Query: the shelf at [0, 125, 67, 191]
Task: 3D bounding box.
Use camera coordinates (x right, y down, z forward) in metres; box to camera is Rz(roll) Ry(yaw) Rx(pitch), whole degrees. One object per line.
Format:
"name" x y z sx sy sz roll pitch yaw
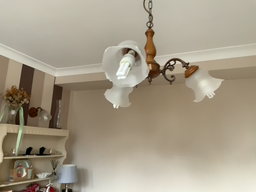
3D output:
"shelf" -1.120 0.800 2.430 0.170 0.870 0.920 -3 -13 25
